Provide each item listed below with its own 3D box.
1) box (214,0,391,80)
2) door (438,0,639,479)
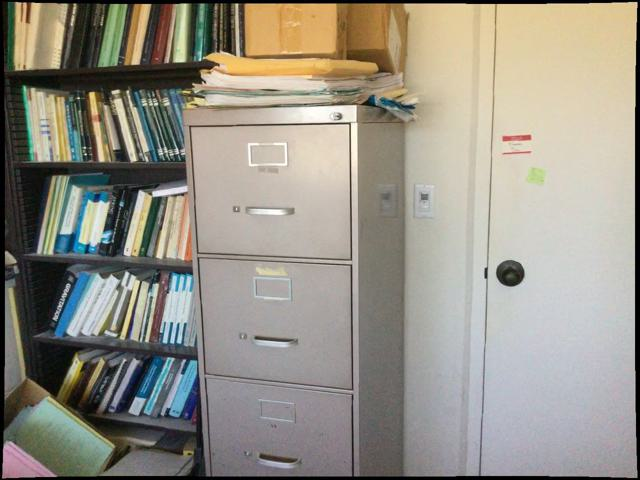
[{"bbox_3d":[-0.020,-0.521,1.430,0.349,0.211,0.390,2,12,12],"label":"box"},{"bbox_3d":[0.987,-0.010,1.790,1.147,2.246,0.150,2,12,13],"label":"door"}]
